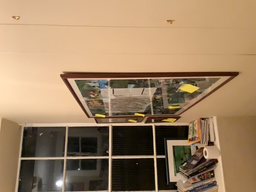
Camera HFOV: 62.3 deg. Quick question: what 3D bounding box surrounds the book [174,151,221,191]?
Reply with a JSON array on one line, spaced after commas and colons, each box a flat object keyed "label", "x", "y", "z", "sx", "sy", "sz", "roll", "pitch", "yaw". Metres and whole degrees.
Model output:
[{"label": "book", "x": 0.620, "y": 0.740, "z": 1.930, "sx": 0.230, "sy": 0.320, "sz": 0.450, "roll": 107, "pitch": 162, "yaw": -77}]
